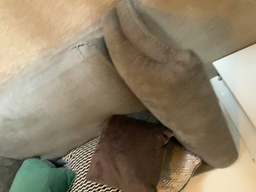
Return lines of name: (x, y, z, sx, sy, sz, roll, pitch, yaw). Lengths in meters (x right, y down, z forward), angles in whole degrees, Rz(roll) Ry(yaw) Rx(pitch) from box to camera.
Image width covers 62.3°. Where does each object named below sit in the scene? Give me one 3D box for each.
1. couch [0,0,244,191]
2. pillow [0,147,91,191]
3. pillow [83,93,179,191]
couch: (-0.310, 0.240, 1.430, 1.670, 0.730, 1.120, -27, 138, 16)
pillow: (-0.560, 0.590, 1.350, 0.490, 0.440, 0.230, -5, 142, 27)
pillow: (-0.010, 0.280, 1.140, 0.400, 0.450, 0.200, -22, 139, 11)
